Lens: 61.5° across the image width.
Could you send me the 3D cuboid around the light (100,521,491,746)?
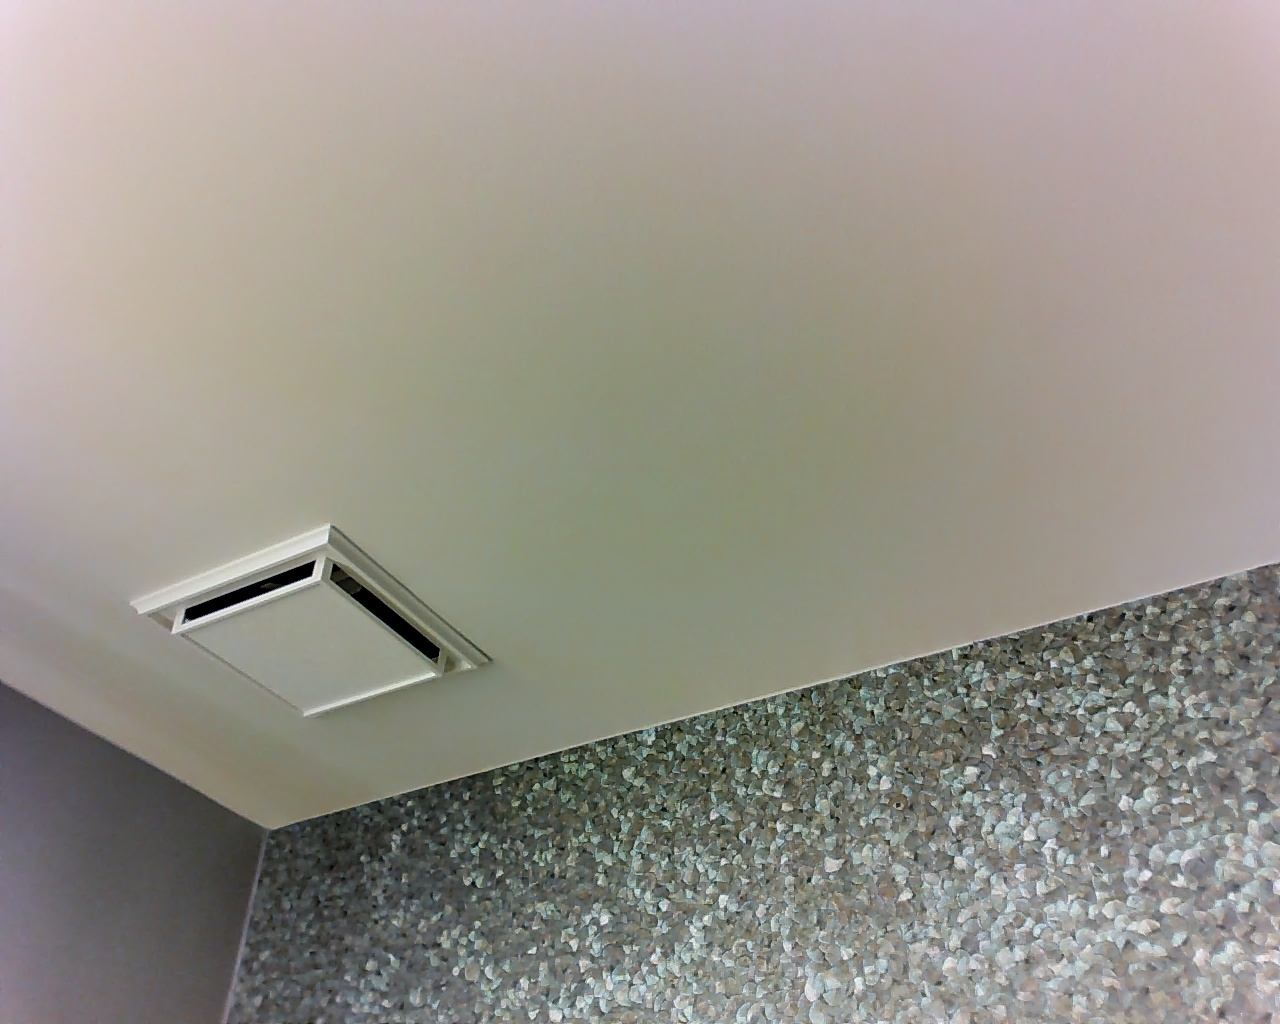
[{"bbox_3d":[-0.300,0.120,0.960,0.250,0.030,0.220,-19,-44,21],"label":"light"}]
